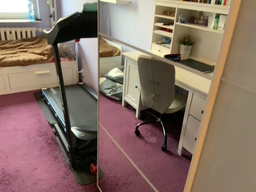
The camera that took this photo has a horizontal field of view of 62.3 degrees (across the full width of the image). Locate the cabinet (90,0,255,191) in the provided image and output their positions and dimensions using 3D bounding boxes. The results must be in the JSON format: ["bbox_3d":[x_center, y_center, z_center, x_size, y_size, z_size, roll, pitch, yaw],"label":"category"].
[{"bbox_3d":[0.580,-0.090,0.710,0.710,2.370,1.870,-12,31,-30],"label":"cabinet"}]
